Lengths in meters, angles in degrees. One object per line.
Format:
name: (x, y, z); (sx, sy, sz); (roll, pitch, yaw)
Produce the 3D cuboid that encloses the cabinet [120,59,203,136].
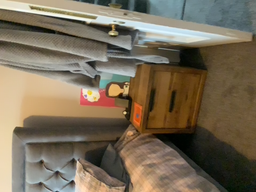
cabinet: (0.240, -0.010, 1.750); (0.450, 0.450, 0.520); (-143, 58, -68)
